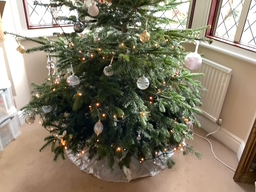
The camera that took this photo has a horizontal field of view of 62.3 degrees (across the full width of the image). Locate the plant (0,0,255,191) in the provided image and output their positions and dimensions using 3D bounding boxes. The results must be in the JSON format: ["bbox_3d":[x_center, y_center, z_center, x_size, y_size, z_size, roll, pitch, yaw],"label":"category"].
[{"bbox_3d":[-0.080,-0.310,1.690,1.470,1.760,1.260,7,30,6],"label":"plant"}]
